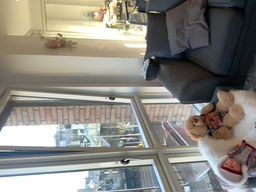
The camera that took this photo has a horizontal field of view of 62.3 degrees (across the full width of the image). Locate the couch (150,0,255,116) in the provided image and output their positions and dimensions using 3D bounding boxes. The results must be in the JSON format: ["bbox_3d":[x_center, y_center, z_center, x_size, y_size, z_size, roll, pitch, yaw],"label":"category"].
[{"bbox_3d":[0.740,-1.020,1.840,0.630,0.890,2.200,-1,114,-11],"label":"couch"}]

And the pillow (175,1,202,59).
[{"bbox_3d":[0.550,-0.600,1.930,0.080,0.360,0.470,-18,103,20],"label":"pillow"}]
